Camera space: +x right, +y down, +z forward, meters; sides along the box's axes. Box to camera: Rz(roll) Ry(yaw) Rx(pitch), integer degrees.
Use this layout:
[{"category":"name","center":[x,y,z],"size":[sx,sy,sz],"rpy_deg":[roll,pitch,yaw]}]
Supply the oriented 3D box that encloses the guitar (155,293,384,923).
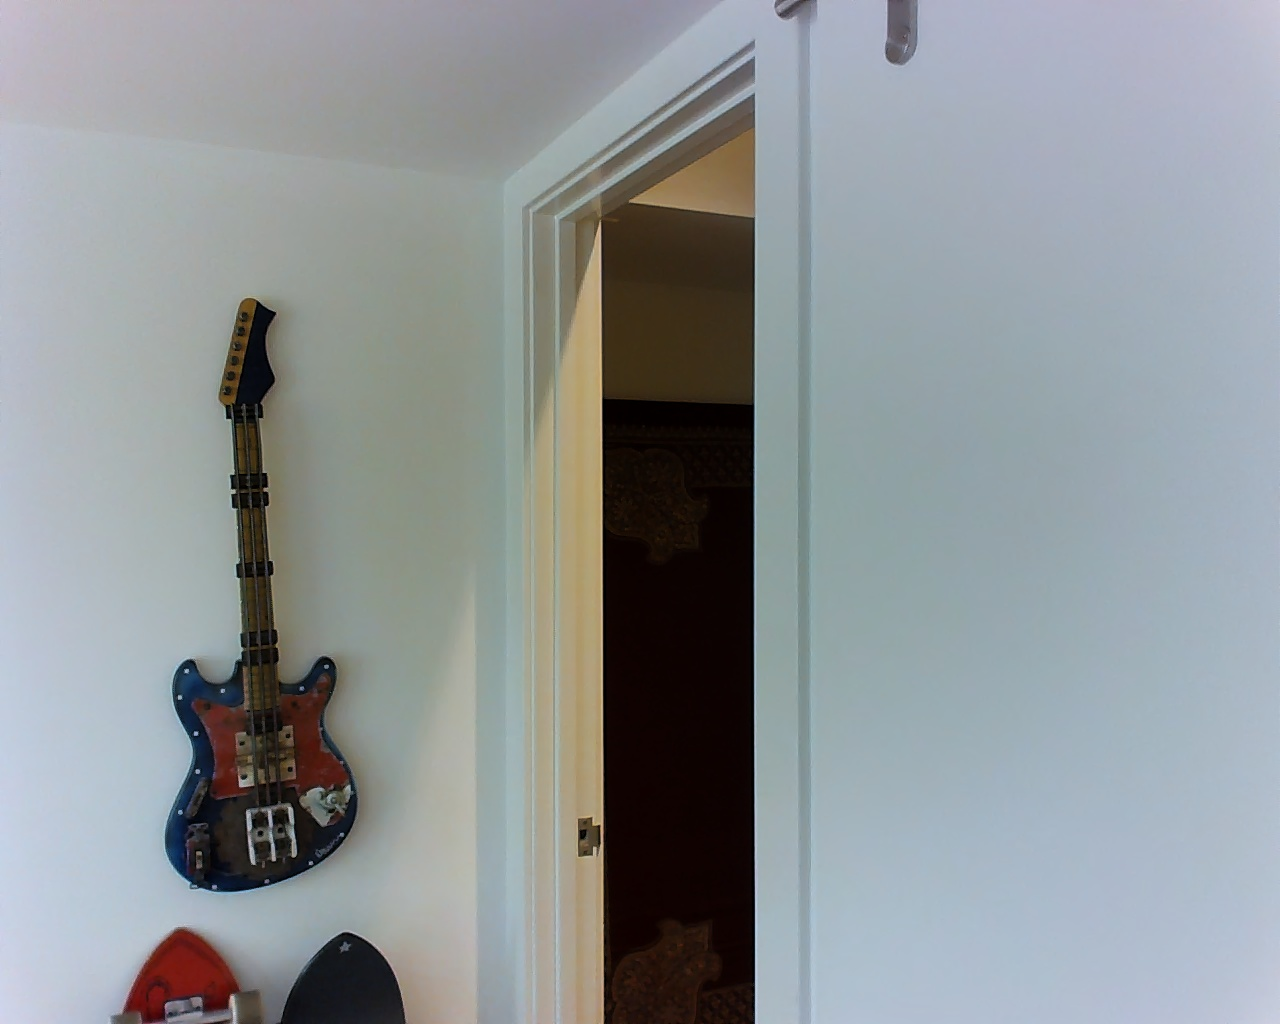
[{"category":"guitar","center":[-0.610,0.150,1.780],"size":[0.350,0.980,0.080],"rpy_deg":[0,1,-25]}]
